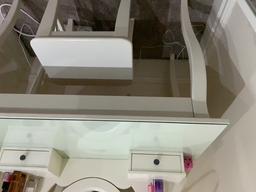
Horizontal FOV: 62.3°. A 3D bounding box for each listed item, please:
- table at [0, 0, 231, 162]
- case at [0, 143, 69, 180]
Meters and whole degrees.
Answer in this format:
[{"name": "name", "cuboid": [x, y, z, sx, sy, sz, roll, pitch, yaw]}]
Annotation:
[{"name": "table", "cuboid": [-0.160, -0.110, 1.120, 1.010, 0.760, 0.530, 0, 149, 2]}, {"name": "case", "cuboid": [-0.440, 0.310, 0.990, 0.280, 0.130, 0.140, 1, 149, 0]}]
